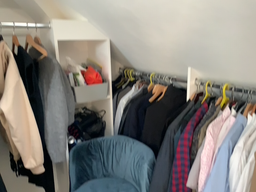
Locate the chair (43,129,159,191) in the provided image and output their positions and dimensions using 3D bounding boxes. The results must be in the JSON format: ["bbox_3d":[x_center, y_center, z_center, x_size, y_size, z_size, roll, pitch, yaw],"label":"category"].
[{"bbox_3d":[-0.110,0.650,1.370,0.550,0.660,0.530,3,15,13],"label":"chair"}]
